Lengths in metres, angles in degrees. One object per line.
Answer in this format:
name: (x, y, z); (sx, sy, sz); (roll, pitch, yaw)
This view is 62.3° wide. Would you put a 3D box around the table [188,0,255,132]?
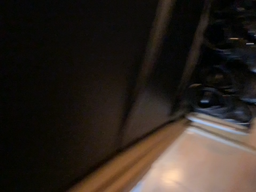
table: (0.430, -0.140, 0.870); (0.190, 0.240, 0.490); (18, 101, 24)
